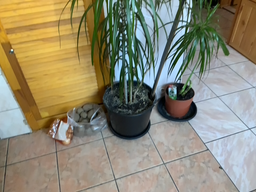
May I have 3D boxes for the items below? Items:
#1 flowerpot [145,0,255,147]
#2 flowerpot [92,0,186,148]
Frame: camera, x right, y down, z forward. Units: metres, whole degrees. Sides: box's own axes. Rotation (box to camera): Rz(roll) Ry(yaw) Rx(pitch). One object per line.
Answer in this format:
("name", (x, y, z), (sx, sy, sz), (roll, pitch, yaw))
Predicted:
("flowerpot", (0.390, -0.210, 1.250), (0.450, 1.020, 0.400), (-10, 43, -9))
("flowerpot", (0.030, -0.190, 1.190), (0.330, 1.010, 0.370), (-12, 43, -11))
